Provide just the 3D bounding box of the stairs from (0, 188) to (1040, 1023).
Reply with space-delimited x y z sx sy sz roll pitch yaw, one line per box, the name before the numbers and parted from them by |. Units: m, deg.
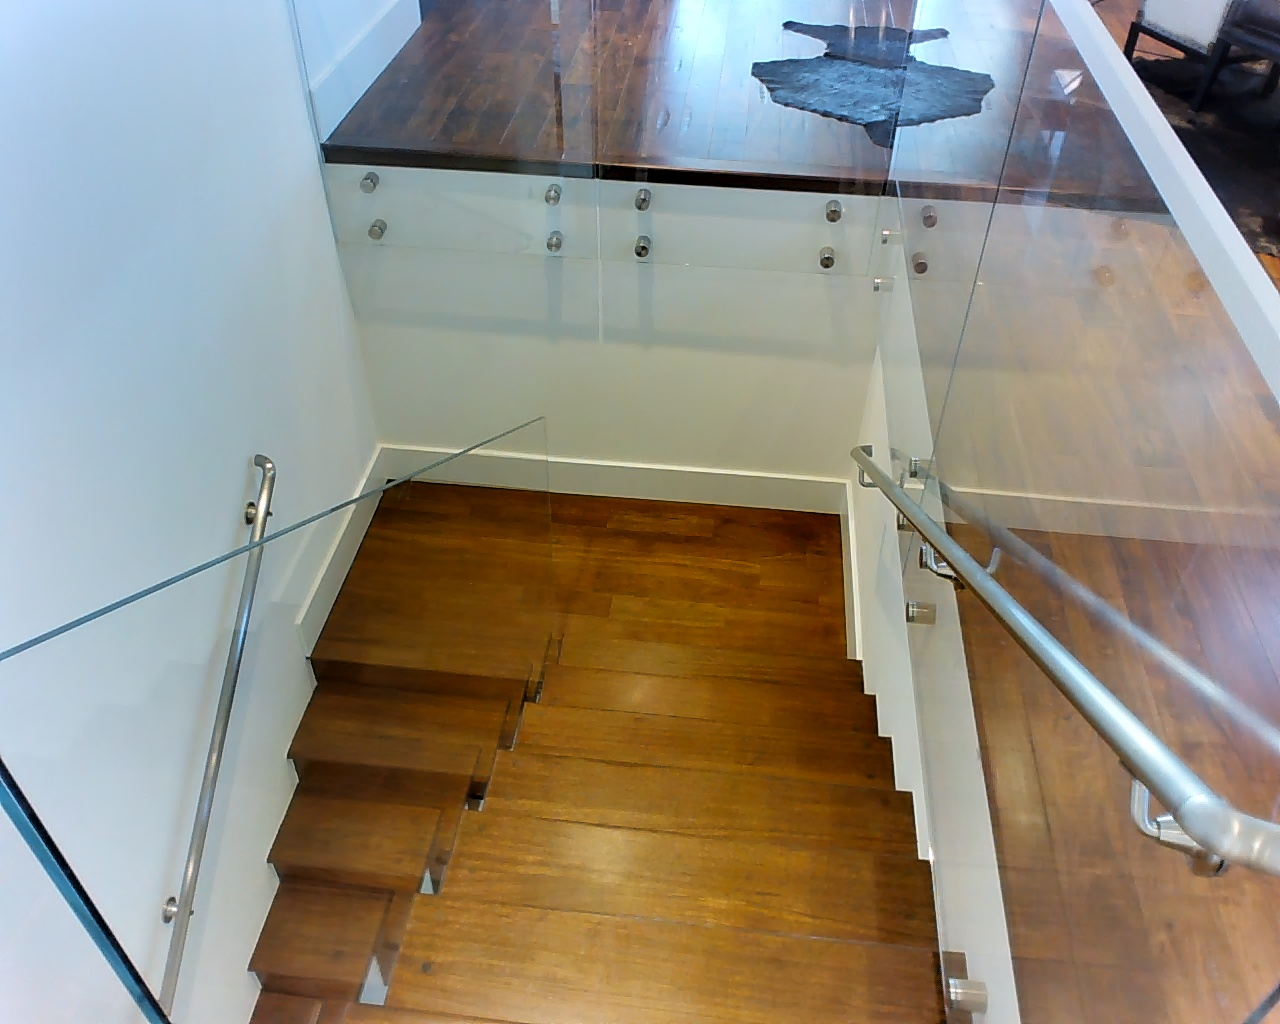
stairs | -0.280 1.110 3.590 2.040 3.050 3.140 5 42 4
